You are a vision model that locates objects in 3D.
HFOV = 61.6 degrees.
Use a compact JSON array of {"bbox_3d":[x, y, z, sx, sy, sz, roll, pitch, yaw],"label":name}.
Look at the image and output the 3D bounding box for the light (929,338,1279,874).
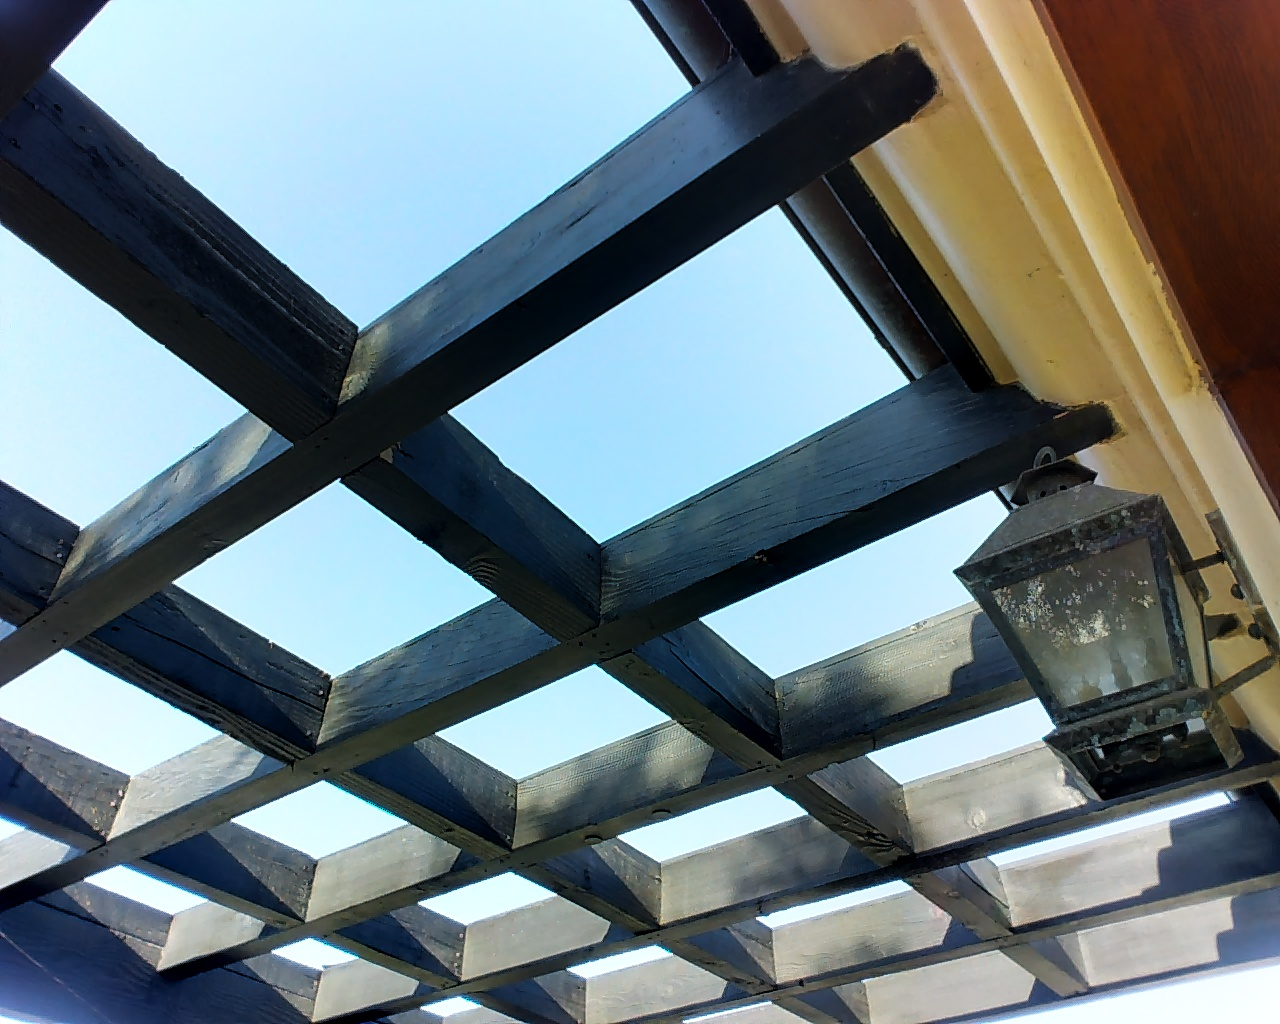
[{"bbox_3d":[0.480,0.090,1.050,0.240,0.400,0.240,-26,-48,27],"label":"light"}]
